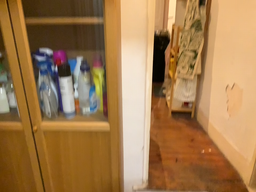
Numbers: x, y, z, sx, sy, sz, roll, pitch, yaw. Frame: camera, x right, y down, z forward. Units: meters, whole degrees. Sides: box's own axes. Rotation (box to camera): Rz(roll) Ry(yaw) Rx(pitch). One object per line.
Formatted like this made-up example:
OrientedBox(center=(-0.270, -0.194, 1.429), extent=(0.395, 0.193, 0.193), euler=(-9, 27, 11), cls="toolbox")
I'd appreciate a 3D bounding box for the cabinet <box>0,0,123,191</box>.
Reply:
OrientedBox(center=(-0.450, 0.100, 1.110), extent=(0.830, 2.000, 0.310), euler=(1, 23, 1), cls="cabinet")
